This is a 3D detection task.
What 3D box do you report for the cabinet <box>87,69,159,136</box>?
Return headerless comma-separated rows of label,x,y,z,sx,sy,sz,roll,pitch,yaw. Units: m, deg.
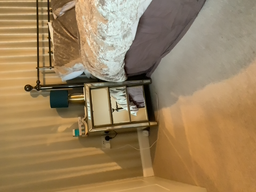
cabinet,-0.090,0.080,2.190,0.450,0.610,0.560,129,135,-72
